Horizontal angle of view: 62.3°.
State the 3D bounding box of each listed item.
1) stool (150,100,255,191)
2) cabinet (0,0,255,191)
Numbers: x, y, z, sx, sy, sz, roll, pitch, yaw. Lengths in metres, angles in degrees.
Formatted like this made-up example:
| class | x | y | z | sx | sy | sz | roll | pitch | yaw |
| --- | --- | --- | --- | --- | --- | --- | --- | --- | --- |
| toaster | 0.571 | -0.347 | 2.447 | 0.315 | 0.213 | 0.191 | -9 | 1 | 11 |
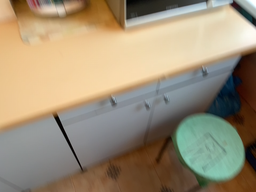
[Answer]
| class | x | y | z | sx | sy | sz | roll | pitch | yaw |
| --- | --- | --- | --- | --- | --- | --- | --- | --- | --- |
| stool | 0.380 | 0.330 | 1.180 | 0.340 | 0.470 | 0.330 | -18 | 60 | -15 |
| cabinet | -0.230 | -0.030 | 1.150 | 1.370 | 0.850 | 0.590 | -18 | 60 | -15 |
